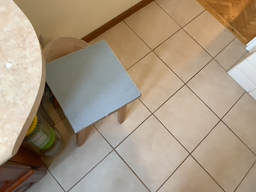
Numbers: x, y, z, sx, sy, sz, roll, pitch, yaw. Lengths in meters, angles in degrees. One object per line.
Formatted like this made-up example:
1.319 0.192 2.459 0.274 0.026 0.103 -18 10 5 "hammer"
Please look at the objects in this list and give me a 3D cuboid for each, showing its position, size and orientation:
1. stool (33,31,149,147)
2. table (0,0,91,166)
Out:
-0.180 0.000 1.040 0.340 0.460 0.300 -30 78 -20 "stool"
-0.400 -0.030 0.800 0.190 0.820 0.540 -40 82 -22 "table"
